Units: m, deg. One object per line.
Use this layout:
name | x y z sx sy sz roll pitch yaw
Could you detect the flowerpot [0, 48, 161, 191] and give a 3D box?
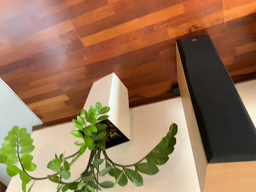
flowerpot | -0.240 0.280 1.350 0.730 0.990 0.480 -18 130 18
